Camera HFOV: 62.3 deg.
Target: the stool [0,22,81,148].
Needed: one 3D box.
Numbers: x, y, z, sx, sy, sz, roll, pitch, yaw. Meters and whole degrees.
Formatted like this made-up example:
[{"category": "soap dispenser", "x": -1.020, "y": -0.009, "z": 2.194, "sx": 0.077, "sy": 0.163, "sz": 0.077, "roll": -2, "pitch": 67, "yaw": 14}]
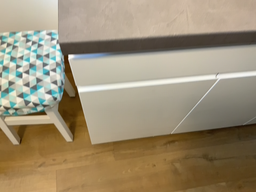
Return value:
[{"category": "stool", "x": -0.420, "y": -0.010, "z": 0.950, "sx": 0.330, "sy": 0.500, "sz": 0.330, "roll": -6, "pitch": 65, "yaw": -8}]
